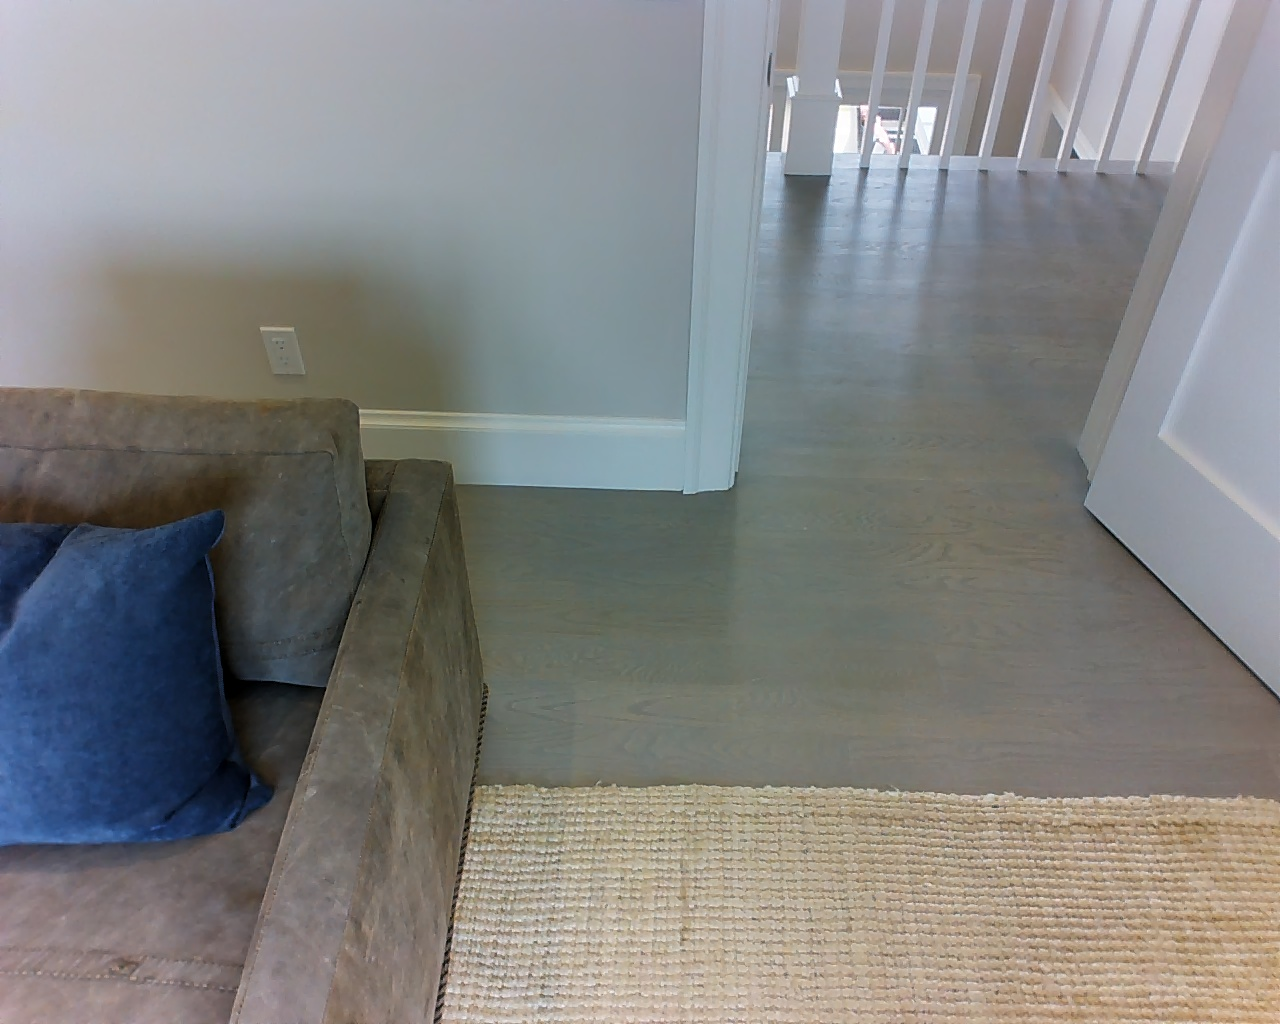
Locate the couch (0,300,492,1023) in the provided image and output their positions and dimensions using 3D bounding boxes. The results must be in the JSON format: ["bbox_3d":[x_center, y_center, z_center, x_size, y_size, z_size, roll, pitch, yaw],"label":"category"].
[{"bbox_3d":[-0.730,0.350,1.390,0.930,0.820,1.000,-1,42,-1],"label":"couch"}]
